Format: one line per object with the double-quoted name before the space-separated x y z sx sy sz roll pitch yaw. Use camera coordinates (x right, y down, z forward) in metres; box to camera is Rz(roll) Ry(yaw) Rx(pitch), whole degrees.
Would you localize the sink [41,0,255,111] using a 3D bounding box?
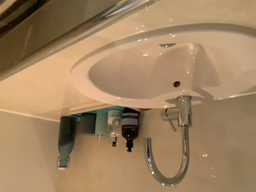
"sink" 0.120 -0.130 0.640 0.540 0.190 0.490 -13 158 38
